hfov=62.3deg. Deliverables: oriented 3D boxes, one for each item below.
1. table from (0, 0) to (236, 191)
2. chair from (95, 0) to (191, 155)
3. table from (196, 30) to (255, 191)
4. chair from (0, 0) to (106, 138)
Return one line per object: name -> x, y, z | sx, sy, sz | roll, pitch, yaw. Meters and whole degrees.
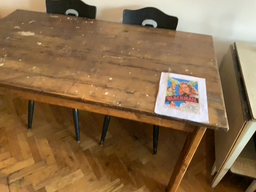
table -> -0.230, -0.040, 1.450 | 1.420, 0.770, 0.910 | 10, 42, 6
chair -> 0.110, -0.130, 1.530 | 0.470, 0.840, 0.630 | 11, 42, 7
table -> 0.740, 0.110, 1.390 | 0.370, 0.730, 0.800 | 11, 42, 7
chair -> -0.490, -0.240, 1.590 | 0.470, 0.840, 0.630 | 11, 42, 7
